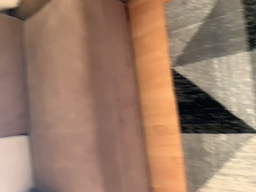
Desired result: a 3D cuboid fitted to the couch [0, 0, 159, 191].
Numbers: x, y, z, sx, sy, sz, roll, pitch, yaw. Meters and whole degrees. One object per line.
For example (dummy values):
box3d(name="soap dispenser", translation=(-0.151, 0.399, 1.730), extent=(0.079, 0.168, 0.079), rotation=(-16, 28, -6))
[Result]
box3d(name="couch", translation=(-0.550, 0.300, 1.240), extent=(0.990, 0.990, 1.620), rotation=(-11, 86, 35))
